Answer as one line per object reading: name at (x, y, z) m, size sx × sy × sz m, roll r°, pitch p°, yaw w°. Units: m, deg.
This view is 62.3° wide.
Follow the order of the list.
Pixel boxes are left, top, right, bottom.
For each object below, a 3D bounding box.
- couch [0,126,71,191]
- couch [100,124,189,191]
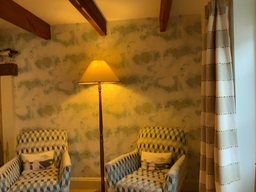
couch at (-1.030, 0.860, 2.420) m, size 0.720 × 0.840 × 0.860 m, roll -2°, pitch 1°, yaw -16°
couch at (0.240, 0.810, 2.350) m, size 0.720 × 0.850 × 0.860 m, roll -1°, pitch 2°, yaw 23°
